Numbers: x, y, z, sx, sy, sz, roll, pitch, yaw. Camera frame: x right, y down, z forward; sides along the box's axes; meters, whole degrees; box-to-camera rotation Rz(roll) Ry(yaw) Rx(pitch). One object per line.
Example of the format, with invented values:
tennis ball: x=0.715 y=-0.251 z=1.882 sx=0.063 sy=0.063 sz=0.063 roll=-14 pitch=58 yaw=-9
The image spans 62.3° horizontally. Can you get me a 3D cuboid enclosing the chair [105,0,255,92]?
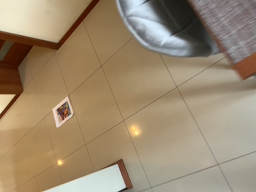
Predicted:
chair: x=0.370 y=-0.360 z=0.810 sx=0.510 sy=0.740 sz=0.460 roll=-41 pitch=66 yaw=30
